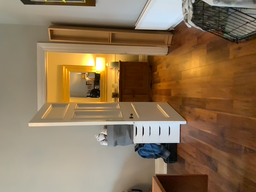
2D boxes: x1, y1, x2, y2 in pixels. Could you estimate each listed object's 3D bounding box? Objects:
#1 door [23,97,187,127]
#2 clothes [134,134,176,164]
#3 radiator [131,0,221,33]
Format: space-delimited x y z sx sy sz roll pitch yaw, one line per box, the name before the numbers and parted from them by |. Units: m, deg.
door | -0.310 0.210 3.260 0.950 2.160 0.120 -117 29 -72
clothes | 0.420 0.860 3.520 0.550 0.560 0.320 -164 75 -81
radiator | 0.580 -1.100 2.390 2.330 0.730 0.160 -165 75 -81
